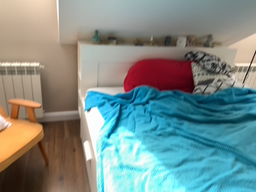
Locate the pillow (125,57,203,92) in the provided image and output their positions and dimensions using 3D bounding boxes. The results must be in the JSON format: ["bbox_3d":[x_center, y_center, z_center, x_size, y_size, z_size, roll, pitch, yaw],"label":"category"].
[{"bbox_3d":[0.320,-0.220,1.960,0.590,0.170,0.370,-5,29,-23],"label":"pillow"}]

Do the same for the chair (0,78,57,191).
[{"bbox_3d":[-0.990,0.330,1.540,0.640,0.700,0.630,12,27,10],"label":"chair"}]
